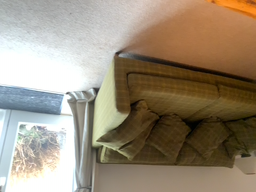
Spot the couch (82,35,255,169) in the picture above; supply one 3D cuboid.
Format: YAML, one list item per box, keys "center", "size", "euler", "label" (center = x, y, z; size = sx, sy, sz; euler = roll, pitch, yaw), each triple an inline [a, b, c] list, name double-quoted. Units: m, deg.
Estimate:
- center: [0.620, 0.260, 2.280]
  size: [1.960, 0.780, 1.120]
  euler: [9, 149, -21]
  label: "couch"
